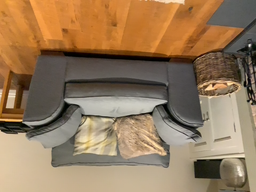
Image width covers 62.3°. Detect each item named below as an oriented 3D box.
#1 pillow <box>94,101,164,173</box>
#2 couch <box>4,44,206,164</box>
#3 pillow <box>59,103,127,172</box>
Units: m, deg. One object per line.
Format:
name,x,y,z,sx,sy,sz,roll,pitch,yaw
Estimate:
pillow,0.020,0.410,2.190,0.470,0.520,0.210,-41,168,1
couch,-0.200,0.220,2.220,1.490,0.920,1.090,3,162,-9
pillow,-0.350,0.410,2.150,0.420,0.530,0.160,-36,167,-23
